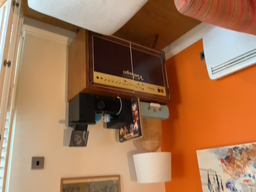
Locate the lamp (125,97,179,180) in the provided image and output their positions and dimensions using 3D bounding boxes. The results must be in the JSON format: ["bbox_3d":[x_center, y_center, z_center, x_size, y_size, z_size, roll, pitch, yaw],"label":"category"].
[{"bbox_3d":[0.190,0.370,1.830,0.300,0.630,0.270,9,157,-34],"label":"lamp"}]
